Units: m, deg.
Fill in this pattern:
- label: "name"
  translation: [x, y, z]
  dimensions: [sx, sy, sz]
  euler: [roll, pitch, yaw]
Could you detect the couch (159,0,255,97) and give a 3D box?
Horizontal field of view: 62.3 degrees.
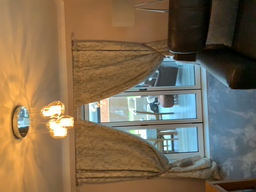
- label: "couch"
  translation: [0.920, -0.720, 2.060]
  dimensions: [1.110, 0.930, 1.110]
  euler: [-107, 16, -69]
